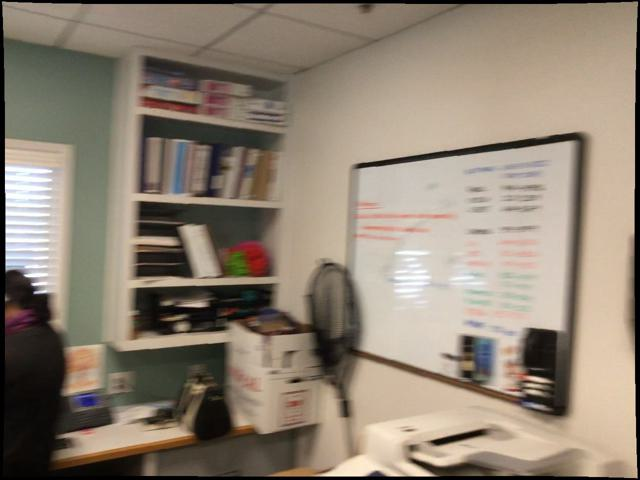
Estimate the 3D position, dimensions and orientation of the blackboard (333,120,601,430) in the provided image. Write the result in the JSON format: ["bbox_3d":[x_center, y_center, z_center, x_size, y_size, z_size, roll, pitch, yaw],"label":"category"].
[{"bbox_3d":[0.460,0.080,2.290,0.120,0.931,1.270,-1,3,-33],"label":"blackboard"}]

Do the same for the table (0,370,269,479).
[{"bbox_3d":[-1.159,0.961,2.520,1.849,0.410,0.500,-1,3,-33],"label":"table"}]

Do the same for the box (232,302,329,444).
[{"bbox_3d":[-0.210,0.651,2.950,0.350,0.591,0.380,-1,3,-33],"label":"box"}]
